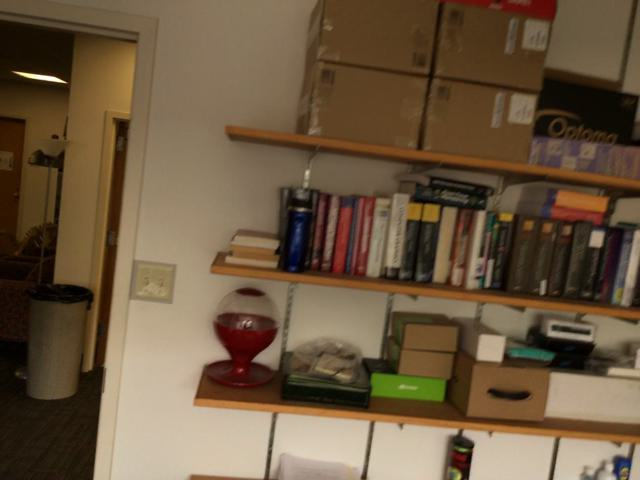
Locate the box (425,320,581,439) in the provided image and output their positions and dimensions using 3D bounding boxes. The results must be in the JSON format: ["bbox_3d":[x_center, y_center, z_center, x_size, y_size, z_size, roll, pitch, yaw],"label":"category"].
[{"bbox_3d":[0.550,0.420,1.780,0.370,0.270,0.230,7,2,-5],"label":"box"}]
